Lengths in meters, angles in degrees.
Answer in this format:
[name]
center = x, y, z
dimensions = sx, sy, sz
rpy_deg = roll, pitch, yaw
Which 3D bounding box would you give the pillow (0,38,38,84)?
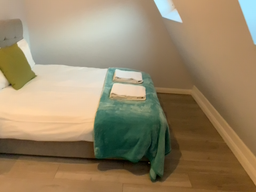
[pillow]
center = -1.390, -0.410, 2.660
dimensions = 0.140, 0.480, 0.560
rpy_deg = -15, 1, 2

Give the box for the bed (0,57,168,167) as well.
[bed]
center = -0.700, 0.040, 2.880
dimensions = 2.110, 0.580, 1.810
rpy_deg = 4, 23, -1
